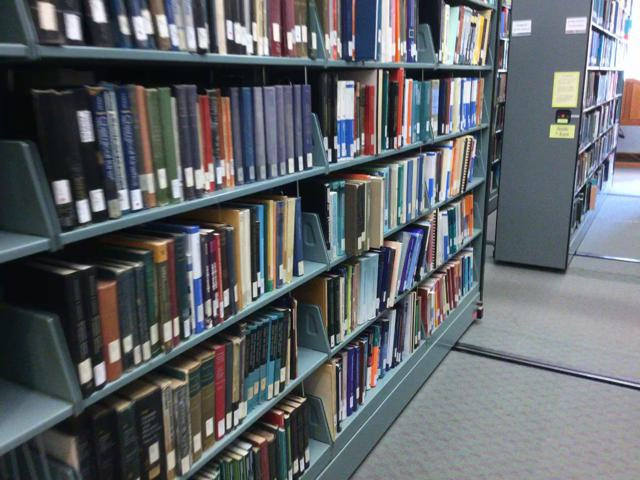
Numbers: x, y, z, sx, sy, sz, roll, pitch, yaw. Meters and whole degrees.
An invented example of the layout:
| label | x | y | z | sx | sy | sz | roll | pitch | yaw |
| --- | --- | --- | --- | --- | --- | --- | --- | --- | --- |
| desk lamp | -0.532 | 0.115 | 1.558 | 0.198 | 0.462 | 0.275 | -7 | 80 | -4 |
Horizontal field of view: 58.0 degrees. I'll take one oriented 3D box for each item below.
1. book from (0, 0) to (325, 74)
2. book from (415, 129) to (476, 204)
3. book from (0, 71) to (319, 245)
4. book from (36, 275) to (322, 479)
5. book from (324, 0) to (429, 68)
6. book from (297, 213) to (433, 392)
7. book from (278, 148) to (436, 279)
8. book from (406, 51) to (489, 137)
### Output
| label | x | y | z | sx | sy | sz | roll | pitch | yaw |
| --- | --- | --- | --- | --- | --- | --- | --- | --- | --- |
| book | -0.310 | -0.560 | 1.260 | 0.250 | 0.340 | 0.890 | 5 | 15 | 28 |
| book | 0.600 | -0.360 | 2.750 | 0.180 | 0.310 | 0.380 | 5 | 15 | 28 |
| book | -0.340 | -0.230 | 1.350 | 0.280 | 0.270 | 0.890 | 5 | 15 | 28 |
| book | -0.260 | 0.360 | 1.450 | 0.130 | 0.310 | 0.870 | 5 | 15 | 28 |
| book | 0.210 | -0.750 | 1.960 | 0.150 | 0.290 | 0.560 | 5 | 15 | 28 |
| book | 0.220 | 0.170 | 2.180 | 0.100 | 0.370 | 1.020 | 5 | 15 | 28 |
| book | 0.180 | -0.140 | 2.100 | 0.230 | 0.320 | 0.850 | 5 | 15 | 28 |
| book | 0.630 | -0.690 | 2.760 | 0.140 | 0.340 | 0.890 | 5 | 15 | 28 |
